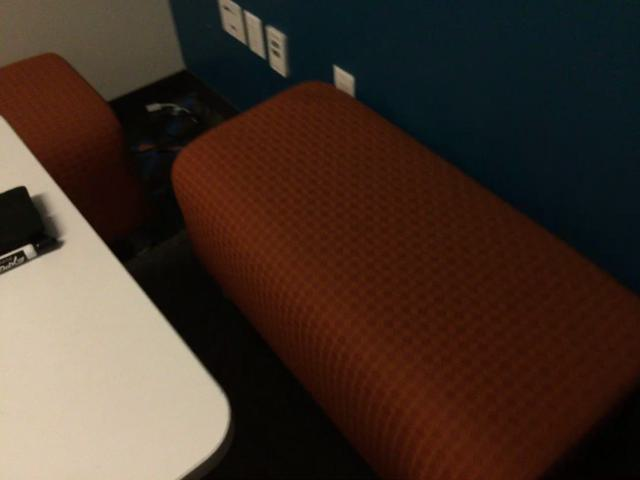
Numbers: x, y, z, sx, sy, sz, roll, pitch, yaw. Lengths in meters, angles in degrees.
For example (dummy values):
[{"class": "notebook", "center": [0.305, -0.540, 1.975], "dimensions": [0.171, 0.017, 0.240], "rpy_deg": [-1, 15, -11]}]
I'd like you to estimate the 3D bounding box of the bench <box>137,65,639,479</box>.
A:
[{"class": "bench", "center": [0.120, 0.090, 1.200], "dimensions": [0.500, 0.410, 0.960], "rpy_deg": [-31, 53, -25]}]
